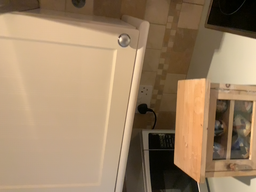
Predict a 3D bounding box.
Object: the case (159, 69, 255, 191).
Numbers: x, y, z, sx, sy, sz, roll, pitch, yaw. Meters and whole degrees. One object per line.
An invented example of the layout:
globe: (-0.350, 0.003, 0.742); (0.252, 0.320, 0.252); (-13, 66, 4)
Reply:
case: (0.260, 0.090, 0.610); (0.210, 0.230, 0.270); (-118, 34, -64)
